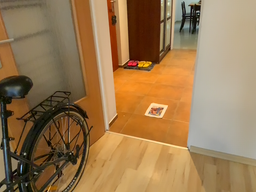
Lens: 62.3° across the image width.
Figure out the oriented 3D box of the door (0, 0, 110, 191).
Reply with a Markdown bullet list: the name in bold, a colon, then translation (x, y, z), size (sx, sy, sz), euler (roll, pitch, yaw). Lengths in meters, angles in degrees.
- **door**: translation (-0.520, -0.280, 1.450), size (0.120, 2.320, 0.840), euler (15, 32, 31)
